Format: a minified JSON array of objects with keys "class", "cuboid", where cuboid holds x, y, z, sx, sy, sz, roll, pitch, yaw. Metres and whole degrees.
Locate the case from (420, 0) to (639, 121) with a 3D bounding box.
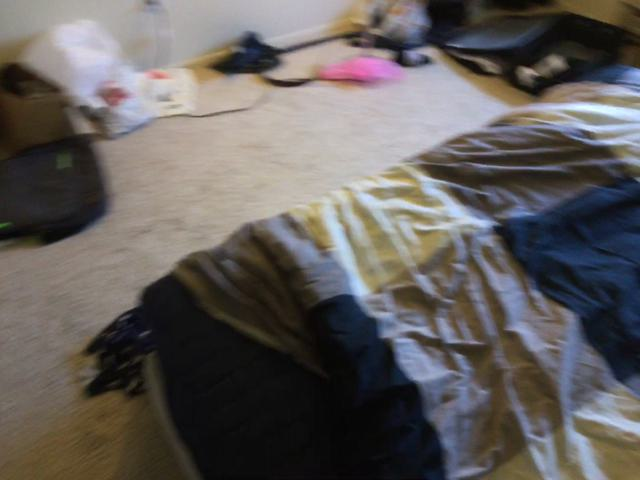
[{"class":"case","cuboid":[0.980,-0.910,2.620,0.690,0.190,0.760,-33,53,-27]}]
